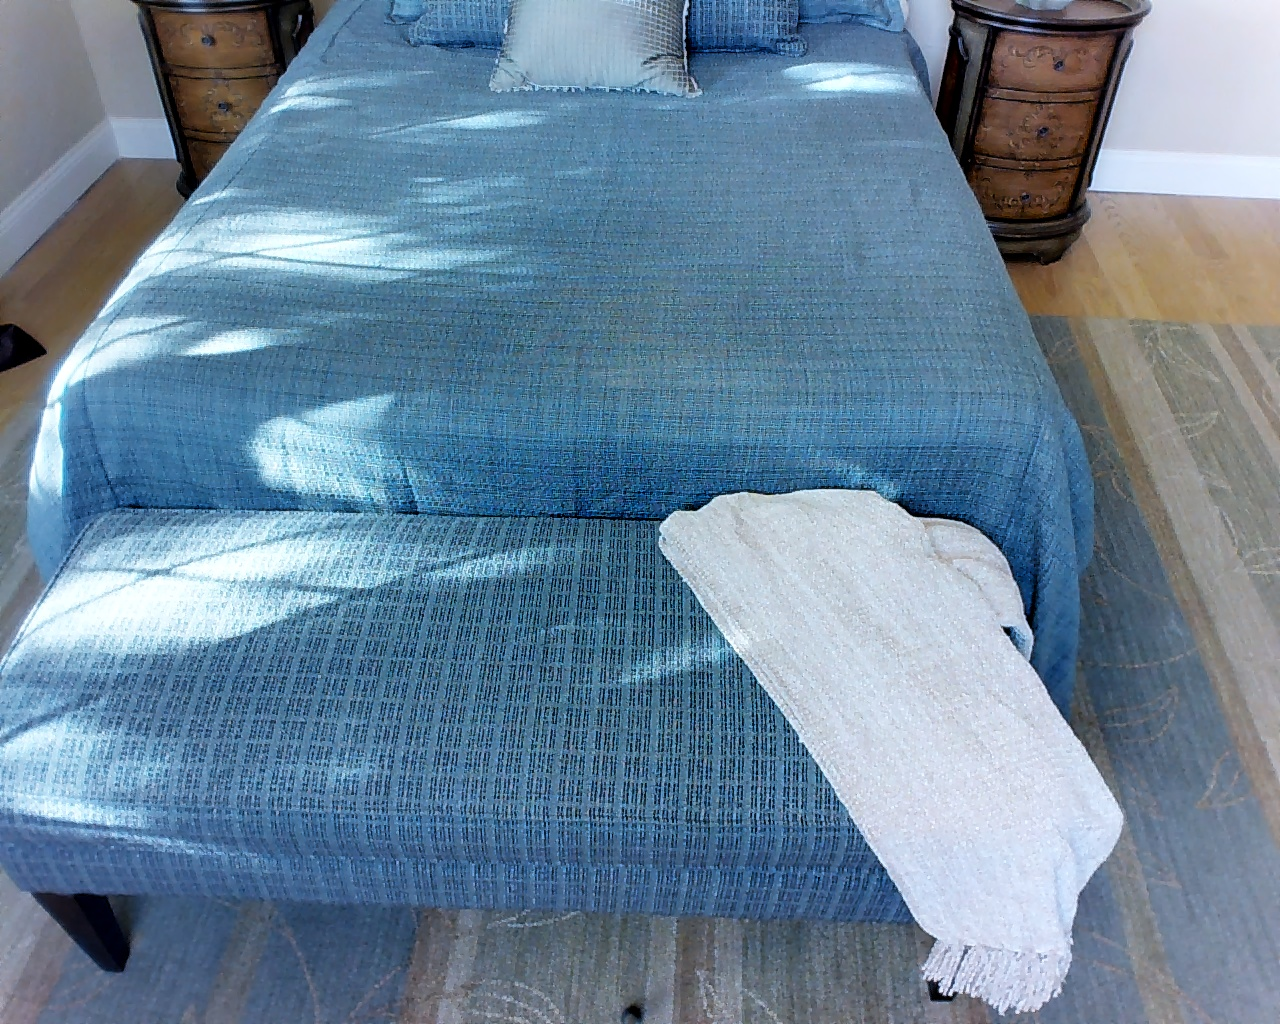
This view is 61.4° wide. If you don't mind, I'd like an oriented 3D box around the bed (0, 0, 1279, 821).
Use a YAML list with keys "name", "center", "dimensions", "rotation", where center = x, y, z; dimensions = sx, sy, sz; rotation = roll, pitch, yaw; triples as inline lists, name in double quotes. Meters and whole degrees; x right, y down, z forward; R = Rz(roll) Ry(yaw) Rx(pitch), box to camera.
- name: "bed"
  center: [-0.060, -0.750, 2.340]
  dimensions: [1.840, 1.170, 2.370]
  rotation: [3, 42, 2]
